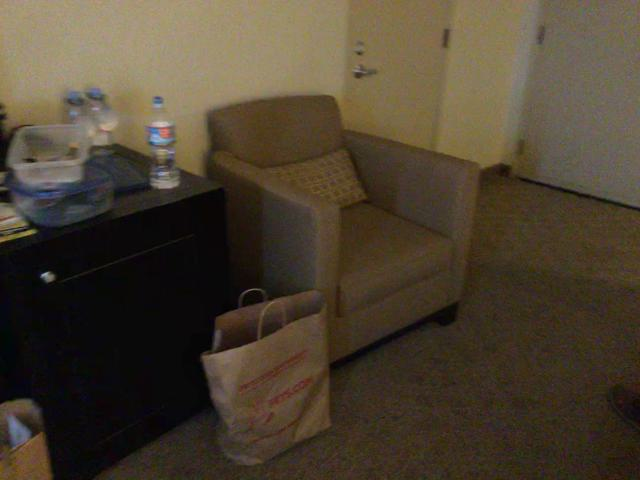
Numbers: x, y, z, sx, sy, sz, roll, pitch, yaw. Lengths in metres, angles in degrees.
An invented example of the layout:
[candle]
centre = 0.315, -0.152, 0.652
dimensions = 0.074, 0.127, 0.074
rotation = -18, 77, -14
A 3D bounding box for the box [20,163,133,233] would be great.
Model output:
[box]
centre = -0.600, -0.110, 1.430
dimensions = 0.180, 0.100, 0.190
rotation = 22, 27, 37

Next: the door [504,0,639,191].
[door]
centre = 1.660, -1.300, 3.400
dimensions = 0.900, 1.920, 0.210
rotation = 14, 24, 35

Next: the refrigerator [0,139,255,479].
[refrigerator]
centre = -0.700, 0.190, 1.760
dimensions = 0.680, 0.800, 0.690
rotation = 22, 27, 37

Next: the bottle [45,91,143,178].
[bottle]
centre = -0.730, -0.350, 1.880
dimensions = 0.170, 0.230, 0.230
rotation = 22, 27, 37
